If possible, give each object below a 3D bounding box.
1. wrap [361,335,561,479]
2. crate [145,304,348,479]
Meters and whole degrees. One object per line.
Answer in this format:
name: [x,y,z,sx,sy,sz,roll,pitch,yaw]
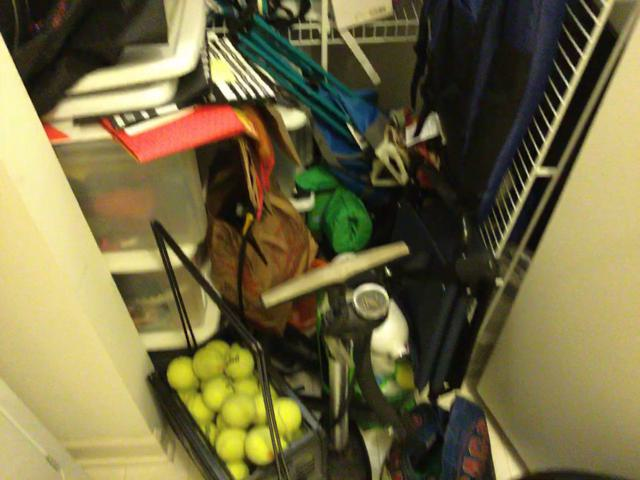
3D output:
wrap: [0.270,0.480,1.210,0.310,0.340,0.420,-3,49,-2]
crate: [-0.150,0.410,1.240,0.240,0.350,0.340,-30,55,-25]
